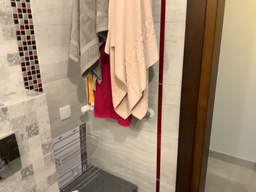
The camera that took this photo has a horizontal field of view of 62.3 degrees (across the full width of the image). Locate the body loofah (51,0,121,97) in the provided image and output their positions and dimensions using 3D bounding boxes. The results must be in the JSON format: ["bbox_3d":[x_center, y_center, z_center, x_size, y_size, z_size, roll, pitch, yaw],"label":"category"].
[{"bbox_3d":[-0.200,-0.490,1.000,0.260,0.950,0.190,10,21,28],"label":"body loofah"}]

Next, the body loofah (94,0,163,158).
[{"bbox_3d":[0.010,-0.310,0.930,0.210,1.160,0.220,9,21,27],"label":"body loofah"}]
